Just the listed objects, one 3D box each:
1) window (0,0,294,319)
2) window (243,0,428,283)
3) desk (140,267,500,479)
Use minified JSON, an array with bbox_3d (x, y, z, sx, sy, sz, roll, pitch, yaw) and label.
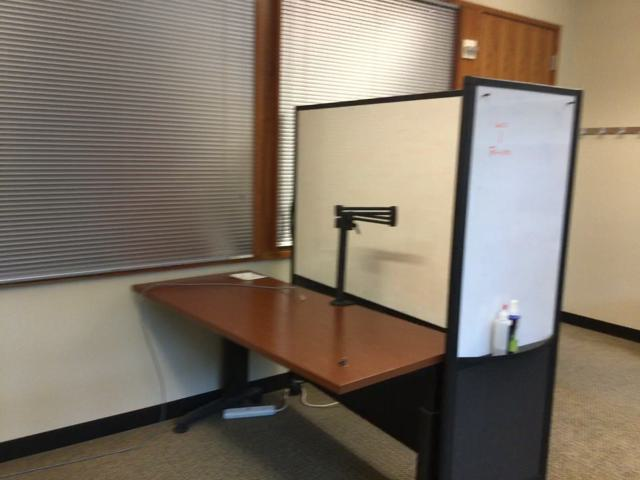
[{"bbox_3d":[-1.290,-0.600,2.340,2.620,1.790,0.300,-7,7,-38],"label":"window"},{"bbox_3d":[0.160,-0.690,3.400,0.210,1.680,1.310,3,8,44],"label":"window"},{"bbox_3d":[-0.090,0.560,2.420,0.750,0.680,1.430,-7,7,-39],"label":"desk"}]
